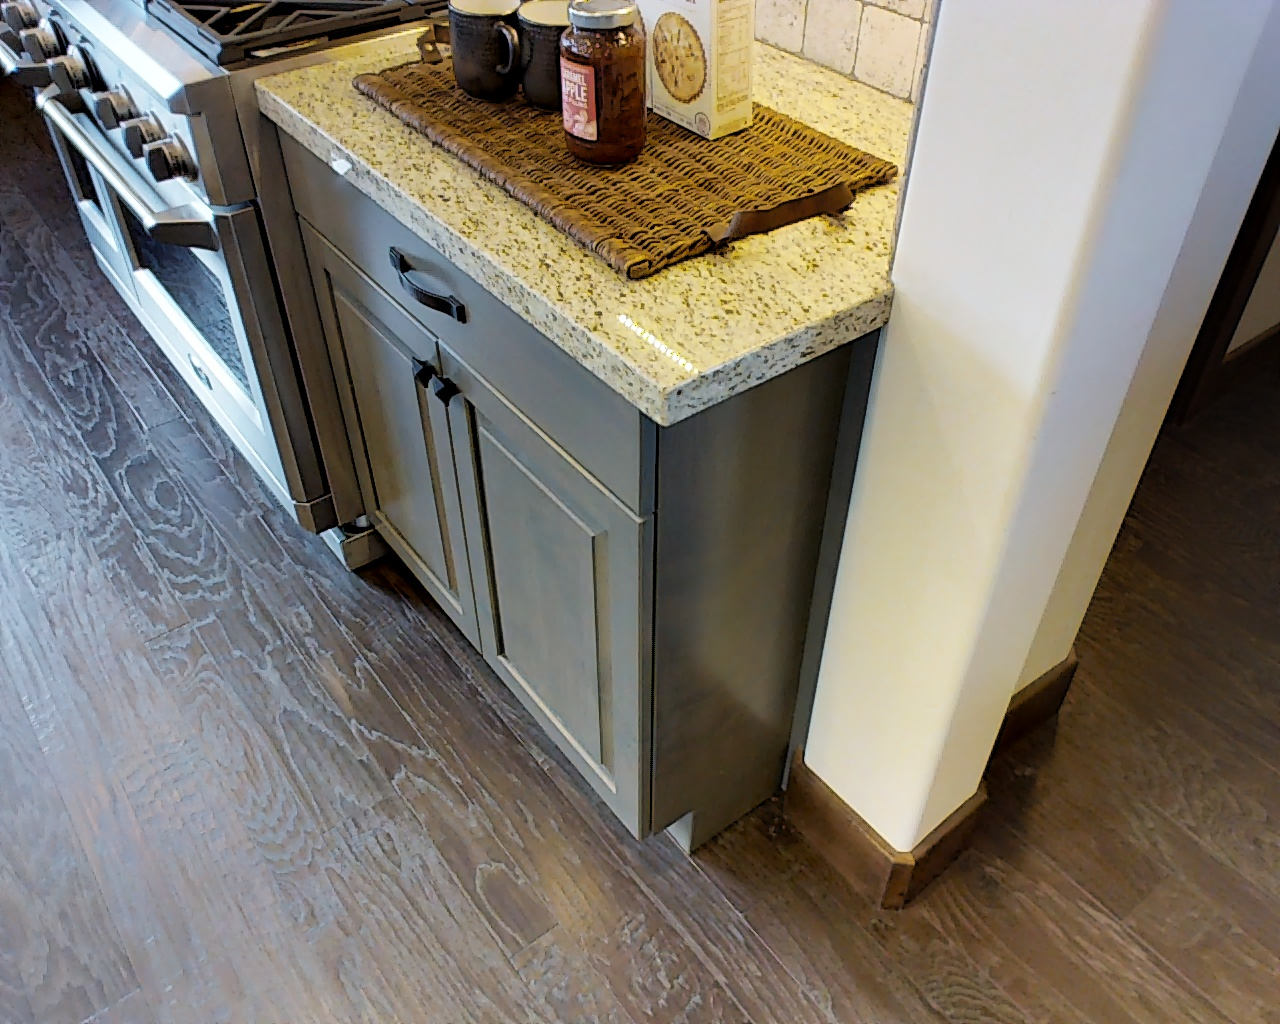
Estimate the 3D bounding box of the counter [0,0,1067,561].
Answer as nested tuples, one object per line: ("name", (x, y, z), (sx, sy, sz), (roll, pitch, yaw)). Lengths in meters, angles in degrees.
("counter", (-0.730, -0.940, 1.880), (0.620, 0.180, 2.990), (-27, 49, -27))
